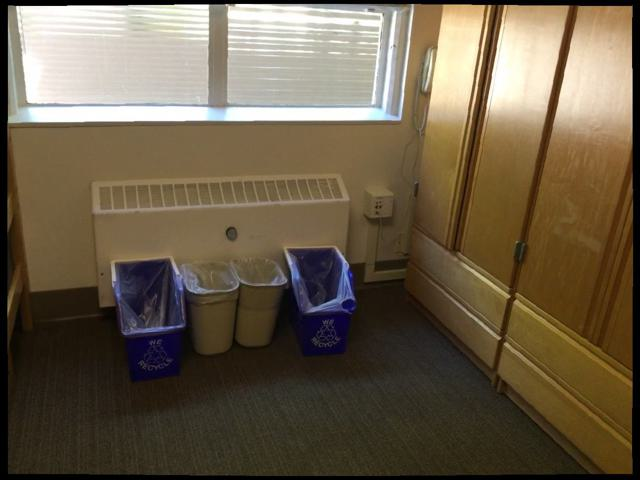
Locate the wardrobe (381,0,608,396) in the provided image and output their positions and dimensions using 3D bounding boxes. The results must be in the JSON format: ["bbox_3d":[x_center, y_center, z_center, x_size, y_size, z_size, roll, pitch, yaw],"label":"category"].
[{"bbox_3d":[0.619,-0.461,2.350,0.190,1.893,0.980,-4,23,-18],"label":"wardrobe"}]
